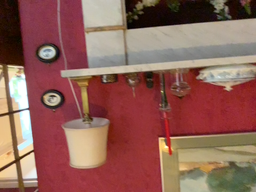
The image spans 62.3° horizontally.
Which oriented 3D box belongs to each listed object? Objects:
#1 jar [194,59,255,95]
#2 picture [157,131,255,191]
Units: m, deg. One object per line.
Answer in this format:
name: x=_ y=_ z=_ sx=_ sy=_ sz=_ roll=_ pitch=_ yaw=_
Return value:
jar: x=0.470 y=-0.090 z=1.000 sx=0.270 sy=0.140 sz=0.150 roll=-4 pitch=-175 yaw=2
picture: x=0.510 y=0.450 z=1.130 sx=0.670 sy=0.500 sz=0.060 roll=-4 pitch=-175 yaw=2
